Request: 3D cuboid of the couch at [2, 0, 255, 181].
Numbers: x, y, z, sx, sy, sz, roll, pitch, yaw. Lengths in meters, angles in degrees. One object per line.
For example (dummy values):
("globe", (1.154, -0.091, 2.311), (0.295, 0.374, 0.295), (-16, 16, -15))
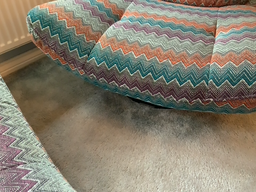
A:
("couch", (0.190, -0.420, 0.830), (0.860, 0.860, 0.870), (16, 44, 14))
